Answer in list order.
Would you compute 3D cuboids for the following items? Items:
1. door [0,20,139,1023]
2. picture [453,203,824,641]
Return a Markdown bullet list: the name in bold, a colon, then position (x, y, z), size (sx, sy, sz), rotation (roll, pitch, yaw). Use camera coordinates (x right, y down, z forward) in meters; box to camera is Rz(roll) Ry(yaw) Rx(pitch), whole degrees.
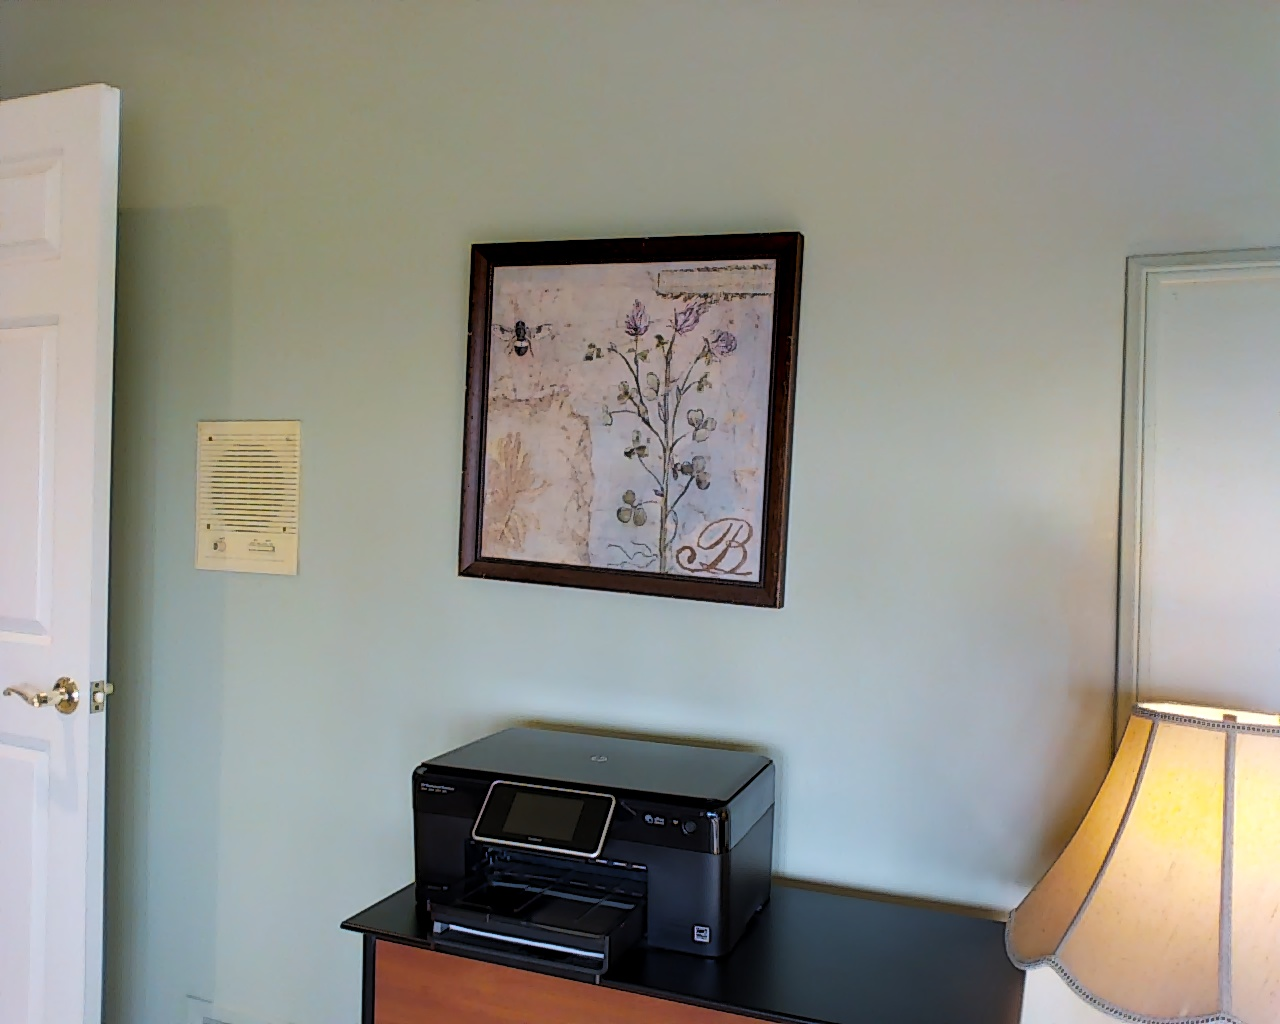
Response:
- **door**: position (-1.370, 0.170, 2.110), size (0.940, 2.110, 0.040), rotation (1, 0, 23)
- **picture**: position (-0.020, -0.140, 1.730), size (0.620, 0.650, 0.040), rotation (1, 0, 23)
